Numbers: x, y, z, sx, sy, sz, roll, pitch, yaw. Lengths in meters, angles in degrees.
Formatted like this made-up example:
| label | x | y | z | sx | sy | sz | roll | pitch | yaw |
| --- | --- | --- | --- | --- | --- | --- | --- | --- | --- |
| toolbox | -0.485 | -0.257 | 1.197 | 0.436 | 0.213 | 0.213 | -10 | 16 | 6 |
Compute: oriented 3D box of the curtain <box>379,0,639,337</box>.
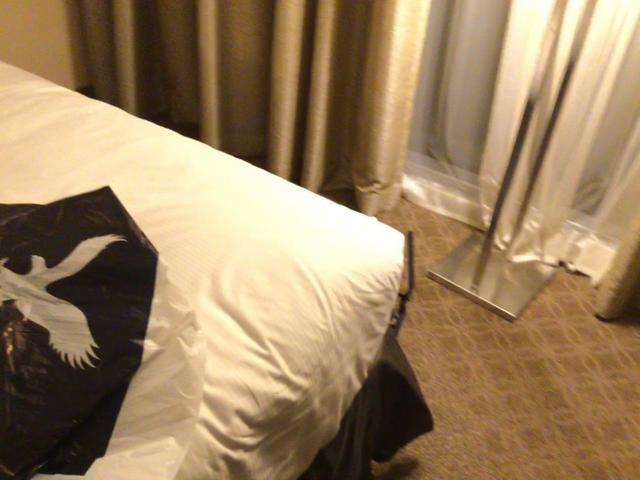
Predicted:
| label | x | y | z | sx | sy | sz | roll | pitch | yaw |
| --- | --- | --- | --- | --- | --- | --- | --- | --- | --- |
| curtain | 0.670 | -0.430 | 1.750 | 0.800 | 1.250 | 0.320 | 25 | 40 | 28 |
